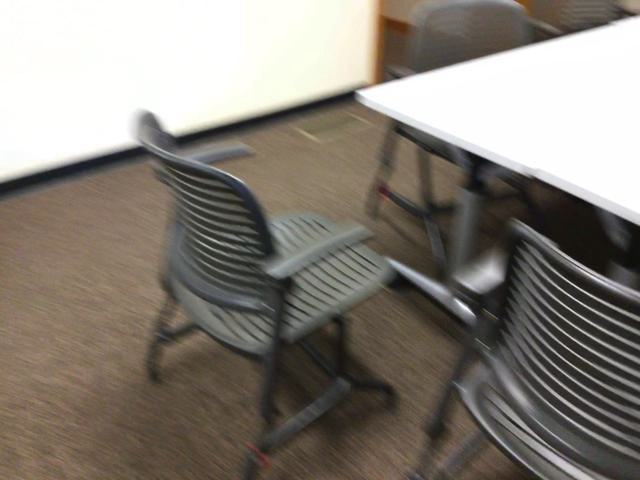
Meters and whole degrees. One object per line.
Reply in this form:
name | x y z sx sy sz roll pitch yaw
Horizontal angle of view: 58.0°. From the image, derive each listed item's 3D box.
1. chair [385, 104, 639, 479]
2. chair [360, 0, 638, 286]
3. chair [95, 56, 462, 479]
chair | 0.560 0.320 0.990 0.600 0.830 0.650 -22 38 -28
chair | 0.560 -0.410 2.070 0.620 0.820 0.590 -16 35 -21
chair | -0.100 0.070 1.410 0.520 0.810 0.600 -22 38 -28
